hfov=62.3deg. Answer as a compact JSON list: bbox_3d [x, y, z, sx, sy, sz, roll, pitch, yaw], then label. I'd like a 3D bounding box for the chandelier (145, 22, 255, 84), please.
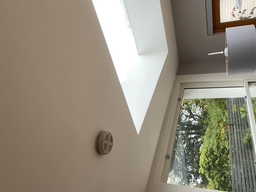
[{"bbox_3d":[0.620,-0.350,1.840,0.270,0.840,0.360,-66,146,-44],"label":"chandelier"}]
